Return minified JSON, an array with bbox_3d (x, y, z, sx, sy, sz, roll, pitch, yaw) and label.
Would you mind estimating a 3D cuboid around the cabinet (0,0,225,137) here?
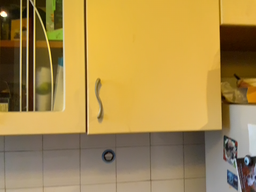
[{"bbox_3d":[-0.410,-0.290,0.700,1.340,0.790,0.340,0,-1,-7],"label":"cabinet"}]
